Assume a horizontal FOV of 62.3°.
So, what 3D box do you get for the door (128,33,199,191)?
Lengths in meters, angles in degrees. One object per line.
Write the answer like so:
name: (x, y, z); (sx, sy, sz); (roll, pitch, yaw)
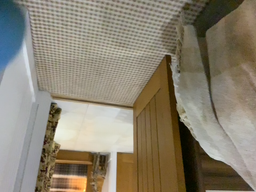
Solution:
door: (0.160, 0.690, 1.320); (0.070, 1.930, 0.980); (6, 153, -12)
